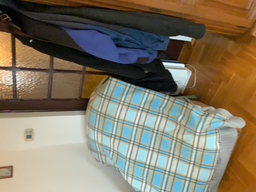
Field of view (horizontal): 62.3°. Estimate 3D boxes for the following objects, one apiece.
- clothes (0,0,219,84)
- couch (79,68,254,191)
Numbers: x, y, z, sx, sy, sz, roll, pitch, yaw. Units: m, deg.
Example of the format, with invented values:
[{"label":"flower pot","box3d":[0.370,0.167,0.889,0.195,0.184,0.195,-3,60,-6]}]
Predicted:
[{"label":"clothes","box3d":[-0.210,-0.360,1.430,0.780,1.340,0.370,31,118,60]},{"label":"couch","box3d":[0.210,0.350,1.870,0.900,1.010,0.890,47,131,54]}]
